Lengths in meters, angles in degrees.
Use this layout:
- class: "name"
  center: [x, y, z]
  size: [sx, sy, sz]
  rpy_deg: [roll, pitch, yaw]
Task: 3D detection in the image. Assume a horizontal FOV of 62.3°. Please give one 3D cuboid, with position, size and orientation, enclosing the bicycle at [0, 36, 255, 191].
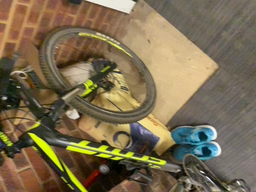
- class: "bicycle"
  center: [0.100, 0.400, 1.100]
  size: [1.820, 0.970, 0.330]
  rpy_deg: [48, 122, 22]
